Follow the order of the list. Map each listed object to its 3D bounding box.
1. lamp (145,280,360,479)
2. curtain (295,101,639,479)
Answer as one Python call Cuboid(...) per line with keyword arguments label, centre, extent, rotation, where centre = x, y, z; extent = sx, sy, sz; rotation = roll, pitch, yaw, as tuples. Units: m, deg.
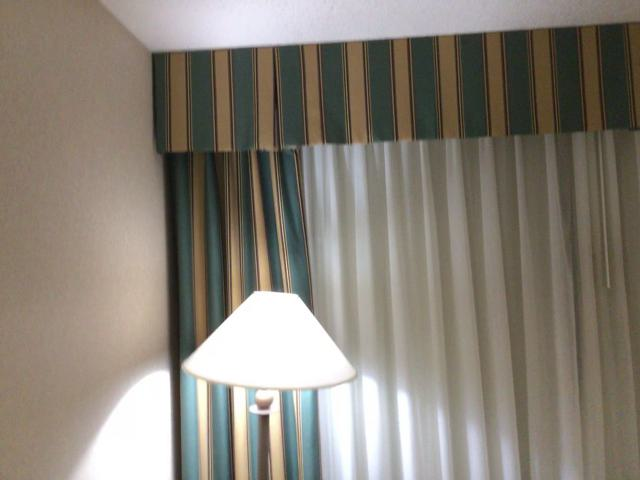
Cuboid(label="lamp", centre=(-0.150, 0.930, 1.790), extent=(0.560, 1.560, 0.370), rotation=(-4, -2, 5))
Cuboid(label="curtain", centre=(1.210, 0.540, 2.080), extent=(2.440, 2.030, 0.310), rotation=(-4, -2, 4))
